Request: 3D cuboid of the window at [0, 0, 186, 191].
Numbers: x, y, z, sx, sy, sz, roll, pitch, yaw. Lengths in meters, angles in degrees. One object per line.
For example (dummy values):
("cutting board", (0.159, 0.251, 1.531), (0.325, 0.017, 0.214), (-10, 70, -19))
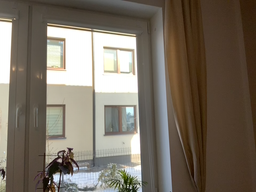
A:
("window", (-0.490, 0.080, 1.240), (1.570, 1.420, 0.440), (1, -7, -19))
